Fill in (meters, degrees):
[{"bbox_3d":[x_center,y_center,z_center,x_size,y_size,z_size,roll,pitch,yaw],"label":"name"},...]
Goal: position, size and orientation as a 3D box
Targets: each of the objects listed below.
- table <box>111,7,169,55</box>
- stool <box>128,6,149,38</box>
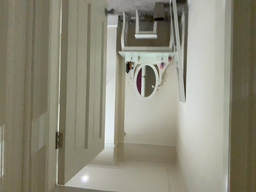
[{"bbox_3d":[0.230,-1.230,4.100,1.030,0.780,0.470,1,180,5],"label":"table"},{"bbox_3d":[0.190,-1.340,3.850,0.360,0.530,0.170,1,180,3],"label":"stool"}]
